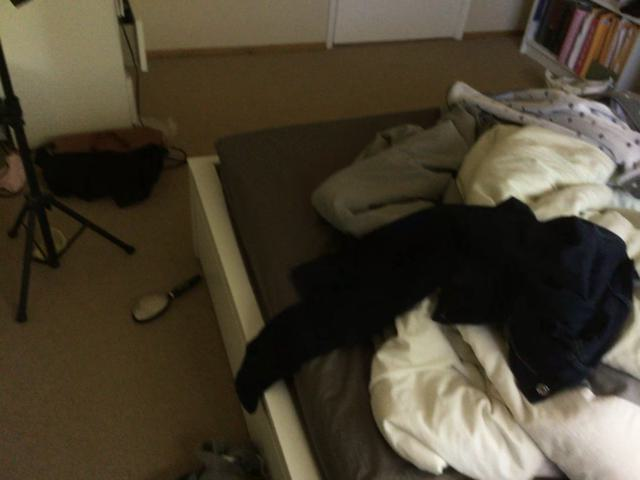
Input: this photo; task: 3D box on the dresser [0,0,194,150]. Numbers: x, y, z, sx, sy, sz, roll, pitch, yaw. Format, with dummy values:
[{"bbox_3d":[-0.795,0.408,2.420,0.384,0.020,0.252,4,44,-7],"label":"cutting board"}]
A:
[{"bbox_3d":[-0.920,-1.040,2.310,0.680,1.010,0.830,-6,42,-10],"label":"dresser"}]
